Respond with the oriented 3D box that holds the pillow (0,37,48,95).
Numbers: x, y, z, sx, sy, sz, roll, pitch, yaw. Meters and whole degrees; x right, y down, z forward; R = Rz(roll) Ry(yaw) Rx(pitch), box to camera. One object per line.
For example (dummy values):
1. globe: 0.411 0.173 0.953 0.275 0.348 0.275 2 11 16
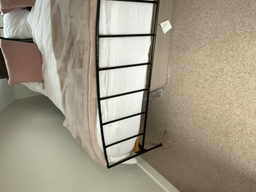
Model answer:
1. pillow: -1.090 -0.330 2.230 0.180 0.430 0.470 11 119 17
